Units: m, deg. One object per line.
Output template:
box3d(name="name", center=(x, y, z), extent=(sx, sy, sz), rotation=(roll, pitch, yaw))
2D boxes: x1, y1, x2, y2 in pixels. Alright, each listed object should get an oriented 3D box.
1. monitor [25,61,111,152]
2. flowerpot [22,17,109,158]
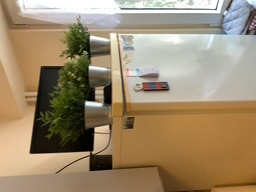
box3d(name="monitor", center=(-0.270, 0.030, 1.030), extent=(0.030, 0.360, 0.460), rotation=(99, 169, -63))
box3d(name="flowerpot", center=(-0.210, -0.080, 0.910), extent=(0.250, 0.240, 0.610), rotation=(94, 173, -45))
